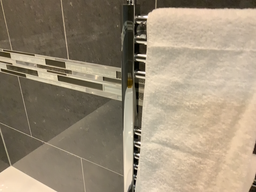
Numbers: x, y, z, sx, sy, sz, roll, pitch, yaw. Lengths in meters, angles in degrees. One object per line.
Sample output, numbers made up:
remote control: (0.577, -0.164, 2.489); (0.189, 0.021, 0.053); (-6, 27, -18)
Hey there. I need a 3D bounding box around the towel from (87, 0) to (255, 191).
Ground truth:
towel: (0.100, 0.220, 0.530); (0.320, 0.850, 0.140); (13, 28, 26)
